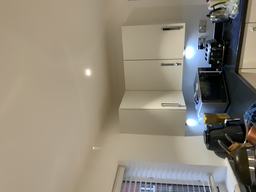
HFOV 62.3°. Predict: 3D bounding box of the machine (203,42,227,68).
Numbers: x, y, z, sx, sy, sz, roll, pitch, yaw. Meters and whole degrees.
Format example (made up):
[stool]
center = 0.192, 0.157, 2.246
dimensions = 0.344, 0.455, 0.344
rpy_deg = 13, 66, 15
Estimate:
[machine]
center = 1.040, -0.500, 2.560
dimensions = 0.270, 0.190, 0.250
rpy_deg = -69, -22, -67
